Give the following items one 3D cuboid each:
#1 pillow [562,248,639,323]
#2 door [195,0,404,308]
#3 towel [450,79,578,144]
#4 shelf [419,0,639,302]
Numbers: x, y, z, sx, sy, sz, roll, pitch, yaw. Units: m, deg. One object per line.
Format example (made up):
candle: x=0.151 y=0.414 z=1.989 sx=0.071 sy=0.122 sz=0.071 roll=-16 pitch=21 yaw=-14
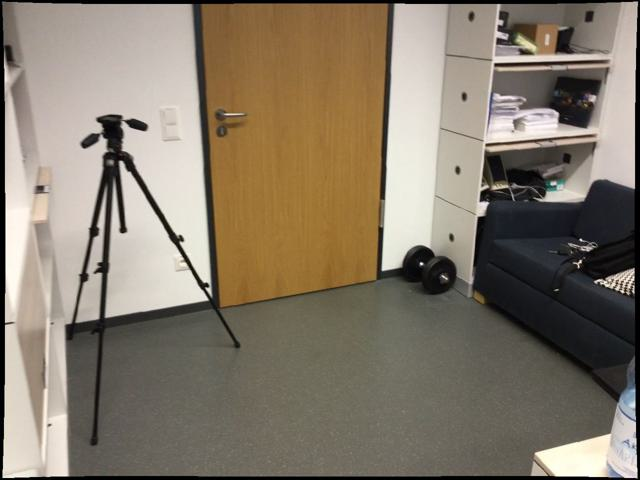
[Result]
pillow: x=1.239 y=0.190 z=2.320 sx=0.200 sy=0.120 sz=0.500 roll=-10 pitch=22 yaw=-19
door: x=-0.070 y=-0.741 z=2.950 sx=0.999 sy=2.122 sz=0.210 roll=-10 pitch=22 yaw=-19
towel: x=1.019 y=-0.691 z=3.060 sx=0.560 sy=0.250 sz=0.300 roll=-10 pitch=22 yaw=-19
shelf: x=1.089 y=-0.831 z=3.080 sx=0.919 sy=2.162 sz=0.490 roll=-10 pitch=22 yaw=-19
